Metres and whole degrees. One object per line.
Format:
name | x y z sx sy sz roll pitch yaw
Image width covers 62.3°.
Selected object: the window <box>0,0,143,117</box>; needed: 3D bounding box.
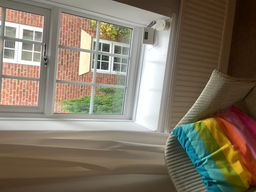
window | -0.690 -0.280 1.650 0.100 1.720 0.860 14 99 62
